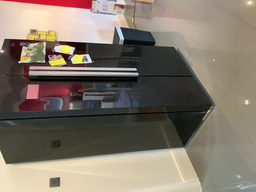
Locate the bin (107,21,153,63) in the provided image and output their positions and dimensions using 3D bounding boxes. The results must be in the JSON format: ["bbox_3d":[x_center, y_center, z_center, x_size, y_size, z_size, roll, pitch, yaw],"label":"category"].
[{"bbox_3d":[0.010,-0.820,3.260,0.390,0.550,0.460,-107,24,-43],"label":"bin"}]
